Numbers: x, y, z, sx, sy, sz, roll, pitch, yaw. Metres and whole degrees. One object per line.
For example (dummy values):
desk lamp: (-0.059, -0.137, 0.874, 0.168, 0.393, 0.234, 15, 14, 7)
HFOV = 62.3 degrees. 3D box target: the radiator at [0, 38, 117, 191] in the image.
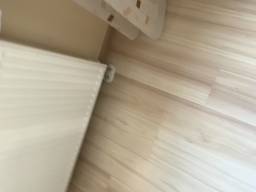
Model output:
radiator: (-0.420, 0.270, 0.990, 0.150, 0.680, 0.950, 23, 100, 23)
